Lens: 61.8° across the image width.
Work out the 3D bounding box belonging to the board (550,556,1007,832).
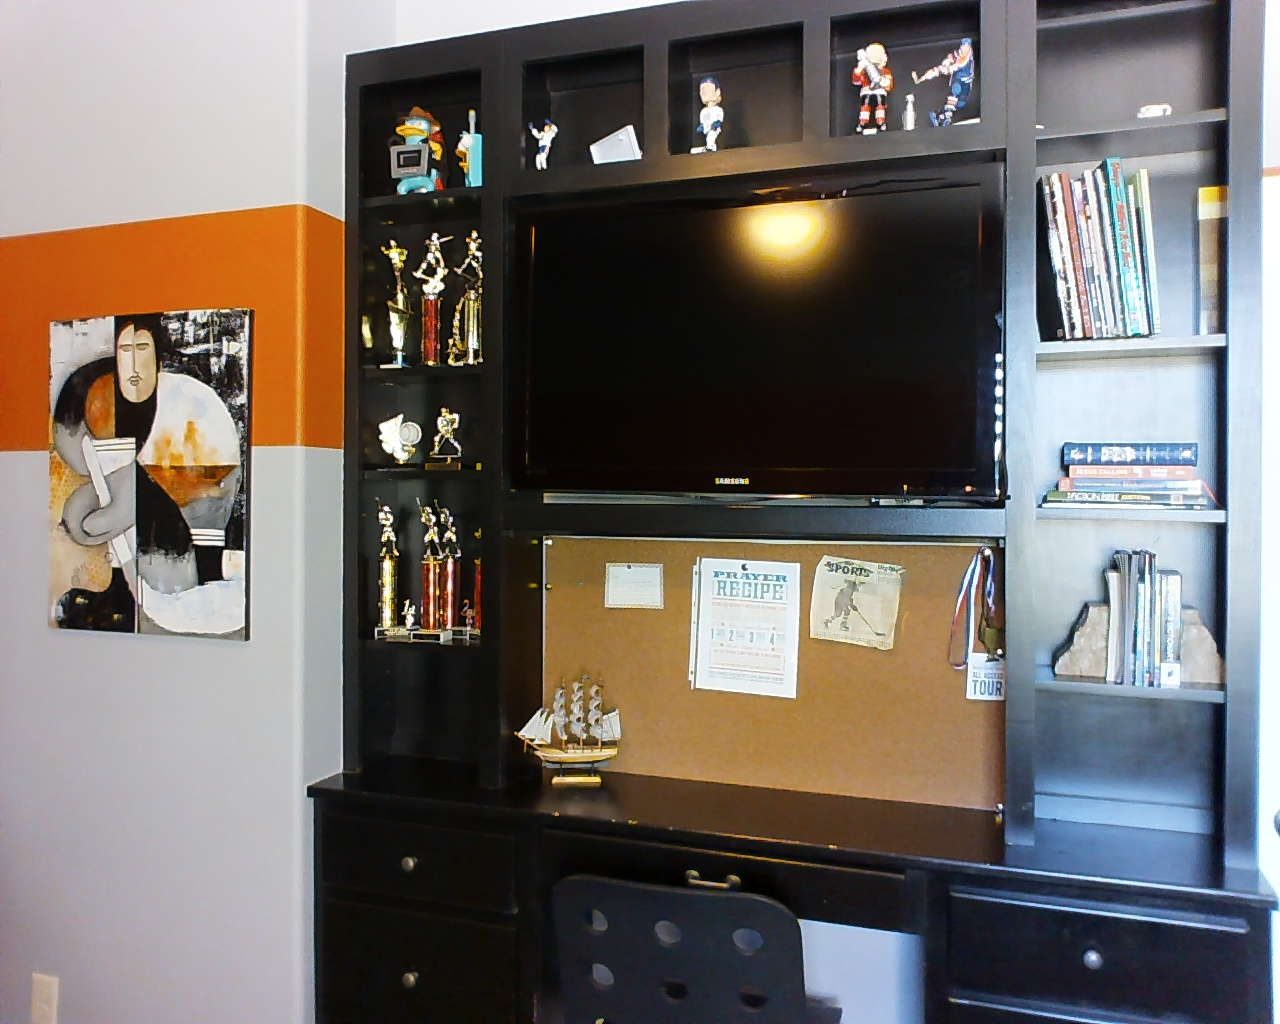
[{"bbox_3d":[0.260,0.360,2.250,0.970,0.520,0.030,0,0,19],"label":"board"}]
